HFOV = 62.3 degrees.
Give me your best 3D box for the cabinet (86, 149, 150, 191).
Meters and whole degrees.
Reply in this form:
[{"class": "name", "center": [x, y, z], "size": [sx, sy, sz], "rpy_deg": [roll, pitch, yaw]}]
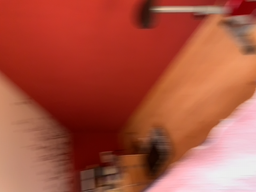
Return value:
[{"class": "cabinet", "center": [-0.150, 0.990, 2.530], "size": [0.480, 0.520, 0.520], "rpy_deg": [-57, 38, 42]}]
